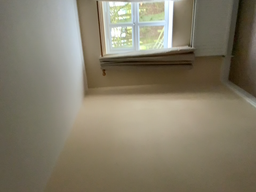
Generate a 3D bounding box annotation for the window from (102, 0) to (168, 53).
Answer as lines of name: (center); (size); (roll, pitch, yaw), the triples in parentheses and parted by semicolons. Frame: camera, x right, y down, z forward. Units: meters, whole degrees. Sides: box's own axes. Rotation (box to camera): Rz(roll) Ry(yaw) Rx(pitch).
window: (0.120, -1.090, 3.330); (0.080, 0.990, 0.770); (-97, 4, -65)
